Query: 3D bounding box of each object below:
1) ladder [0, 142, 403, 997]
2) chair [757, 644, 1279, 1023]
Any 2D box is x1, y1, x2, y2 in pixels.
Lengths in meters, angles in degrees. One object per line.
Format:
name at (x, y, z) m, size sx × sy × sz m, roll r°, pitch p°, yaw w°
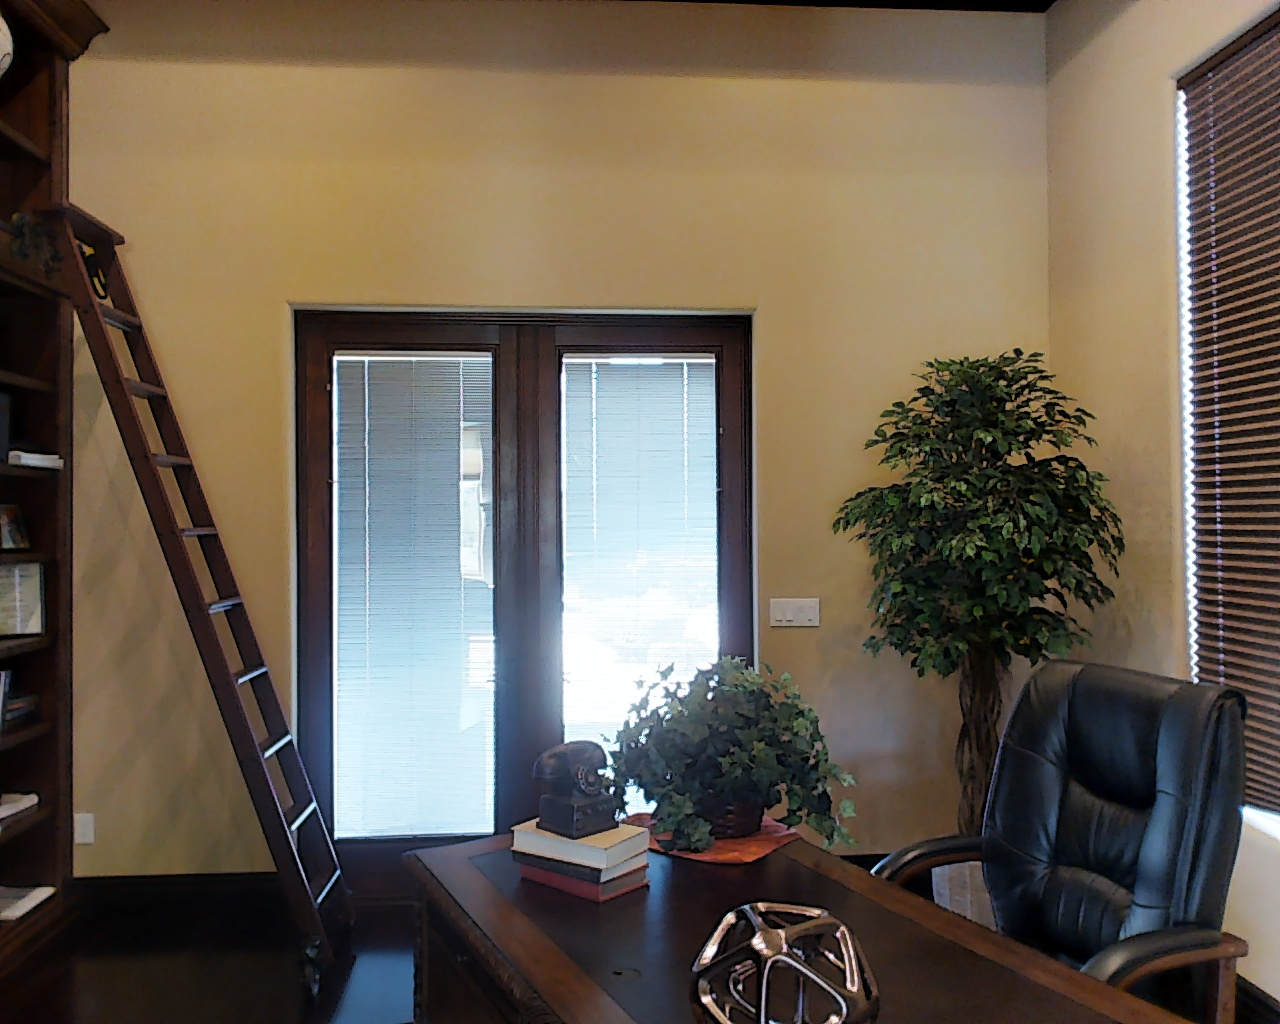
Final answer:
ladder at (-1.580, 0.190, 3.760) m, size 0.450 × 2.730 × 0.740 m, roll -20°, pitch 1°, yaw -4°
chair at (0.780, 0.930, 2.220) m, size 0.780 × 1.180 × 0.770 m, roll -1°, pitch 0°, yaw -22°
